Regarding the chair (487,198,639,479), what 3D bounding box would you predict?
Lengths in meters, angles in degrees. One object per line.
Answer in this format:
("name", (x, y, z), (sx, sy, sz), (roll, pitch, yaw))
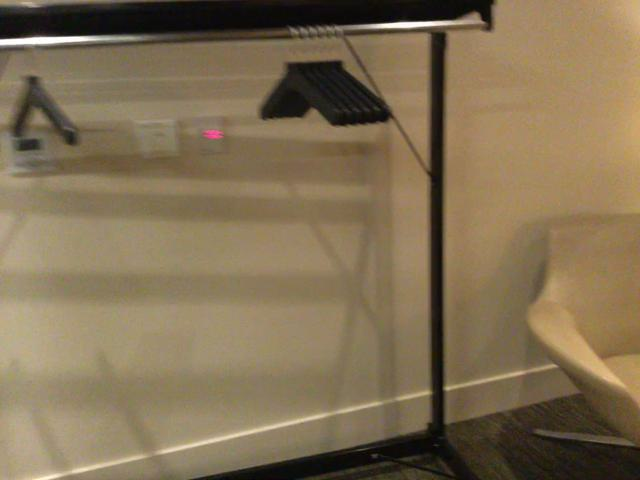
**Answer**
("chair", (1.080, 0.350, 1.790), (0.880, 0.790, 0.890), (-7, 14, 7))
